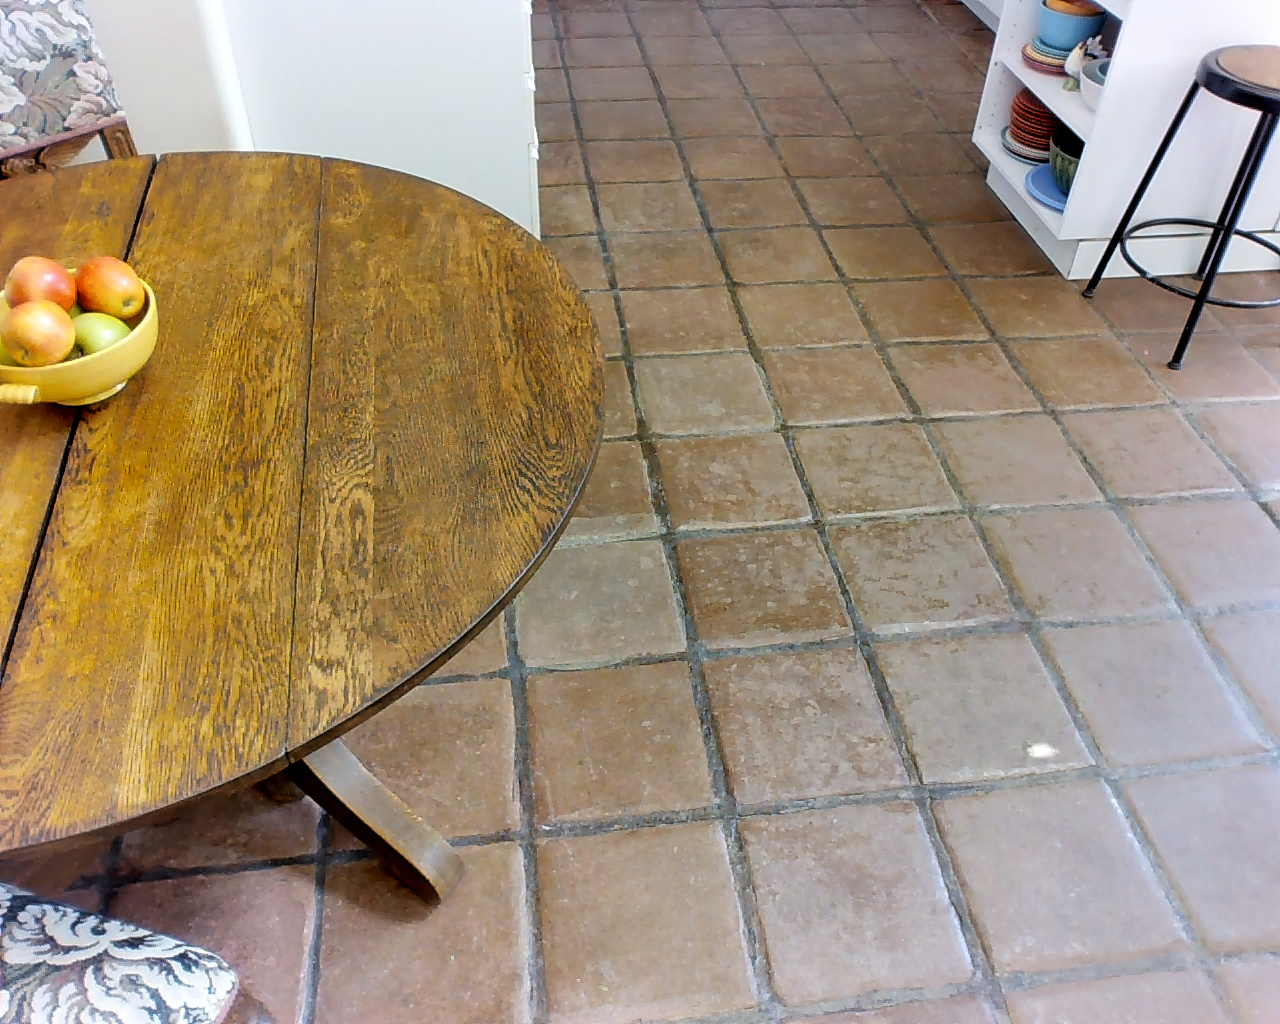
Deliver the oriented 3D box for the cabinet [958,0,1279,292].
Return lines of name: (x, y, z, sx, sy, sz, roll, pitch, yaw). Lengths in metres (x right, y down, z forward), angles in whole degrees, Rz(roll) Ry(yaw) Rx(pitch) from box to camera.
cabinet: (1.610, -1.190, 2.800, 1.170, 0.940, 0.660, -4, 43, -6)
